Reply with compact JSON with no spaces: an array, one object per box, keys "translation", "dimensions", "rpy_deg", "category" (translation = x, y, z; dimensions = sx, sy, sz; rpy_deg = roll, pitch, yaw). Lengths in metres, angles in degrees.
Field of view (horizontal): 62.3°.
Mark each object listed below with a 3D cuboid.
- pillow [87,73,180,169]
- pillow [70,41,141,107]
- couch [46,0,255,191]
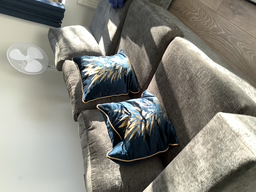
[{"translation":[0.020,0.140,1.370],"dimensions":[0.220,0.430,0.450],"rpy_deg":[80,166,-48],"category":"pillow"},{"translation":[-0.190,-0.200,1.690],"dimensions":[0.200,0.420,0.480],"rpy_deg":[92,158,-45],"category":"pillow"},{"translation":[-0.030,-0.240,1.760],"dimensions":[1.060,0.820,2.350],"rpy_deg":[-59,40,32],"category":"couch"}]
